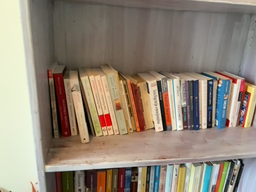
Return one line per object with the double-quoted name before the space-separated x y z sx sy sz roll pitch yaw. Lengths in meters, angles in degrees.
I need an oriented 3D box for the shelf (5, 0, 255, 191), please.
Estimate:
"shelf" 0.120 0.210 0.830 0.870 1.790 0.330 0 20 -10
